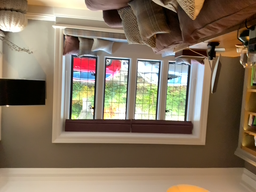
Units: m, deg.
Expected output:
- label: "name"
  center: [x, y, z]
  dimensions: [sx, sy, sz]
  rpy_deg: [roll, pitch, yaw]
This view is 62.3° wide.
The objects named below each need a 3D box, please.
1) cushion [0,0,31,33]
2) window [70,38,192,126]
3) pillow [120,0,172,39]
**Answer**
- label: "cushion"
  center: [-1.790, -1.280, 3.250]
  dimensions: [0.400, 0.480, 0.530]
  rpy_deg: [3, -175, -8]
- label: "window"
  center: [0.100, -0.230, 4.440]
  dimensions: [2.480, 1.680, 0.090]
  rpy_deg: [3, -175, -10]
- label: "pillow"
  center: [0.140, -0.710, 1.880]
  dimensions: [0.150, 0.350, 0.420]
  rpy_deg: [31, 180, -23]
